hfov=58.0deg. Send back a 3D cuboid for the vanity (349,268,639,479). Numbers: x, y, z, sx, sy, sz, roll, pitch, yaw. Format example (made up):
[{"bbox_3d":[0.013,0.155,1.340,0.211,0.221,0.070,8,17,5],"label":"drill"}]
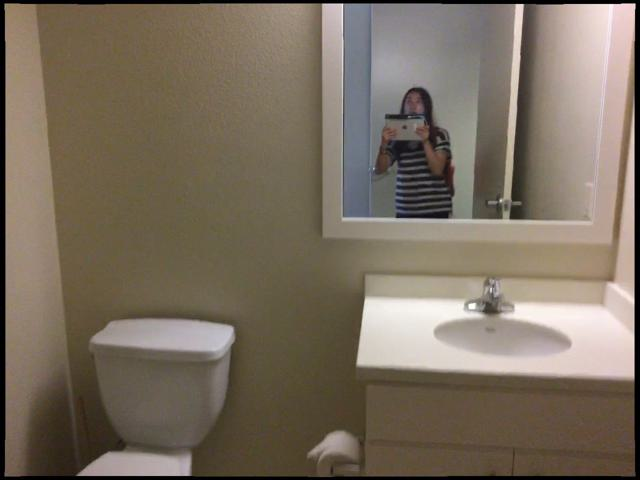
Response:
[{"bbox_3d":[0.519,0.641,1.730,0.818,0.952,0.600,2,14,7],"label":"vanity"}]

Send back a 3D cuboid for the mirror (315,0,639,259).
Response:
[{"bbox_3d":[0.469,-0.431,1.810,0.958,0.952,0.120,2,14,7],"label":"mirror"}]
